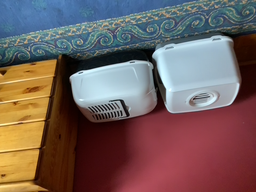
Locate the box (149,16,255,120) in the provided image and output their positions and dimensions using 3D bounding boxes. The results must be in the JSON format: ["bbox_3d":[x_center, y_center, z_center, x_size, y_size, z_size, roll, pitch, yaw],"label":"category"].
[{"bbox_3d":[0.420,-0.160,1.320,0.500,0.420,0.380,-8,144,6],"label":"box"}]
